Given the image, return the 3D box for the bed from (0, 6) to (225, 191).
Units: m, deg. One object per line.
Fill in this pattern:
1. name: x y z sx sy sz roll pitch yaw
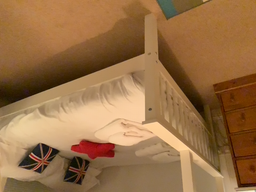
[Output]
1. bed: -0.360 0.680 1.980 2.060 1.490 1.570 -15 145 27
